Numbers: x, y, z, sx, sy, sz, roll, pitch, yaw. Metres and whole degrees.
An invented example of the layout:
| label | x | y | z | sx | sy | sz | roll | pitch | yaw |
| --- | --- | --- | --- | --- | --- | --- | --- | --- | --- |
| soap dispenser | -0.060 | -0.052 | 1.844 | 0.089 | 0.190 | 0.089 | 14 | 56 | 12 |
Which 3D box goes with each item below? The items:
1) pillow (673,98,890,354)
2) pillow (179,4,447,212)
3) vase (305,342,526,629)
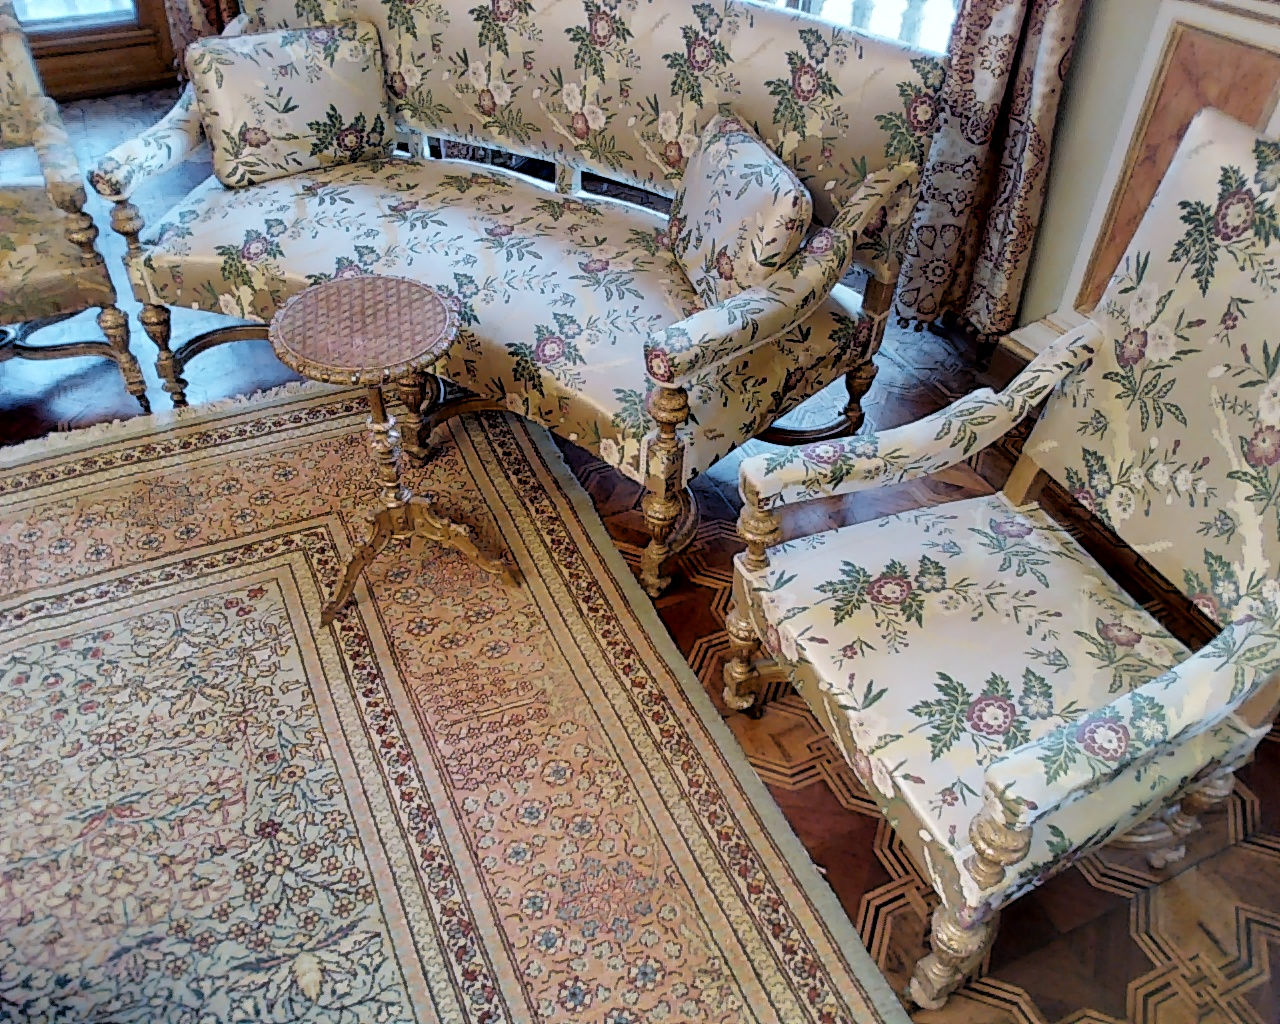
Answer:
| label | x | y | z | sx | sy | sz | roll | pitch | yaw |
| --- | --- | --- | --- | --- | --- | --- | --- | --- | --- |
| pillow | 0.280 | -0.640 | 2.360 | 0.370 | 0.330 | 0.550 | -1 | 42 | -2 |
| pillow | -0.830 | -1.050 | 2.780 | 0.570 | 0.370 | 0.240 | -17 | 45 | -19 |
| vase | -0.440 | -0.050 | 2.250 | 0.360 | 0.510 | 0.320 | -1 | 42 | -2 |
